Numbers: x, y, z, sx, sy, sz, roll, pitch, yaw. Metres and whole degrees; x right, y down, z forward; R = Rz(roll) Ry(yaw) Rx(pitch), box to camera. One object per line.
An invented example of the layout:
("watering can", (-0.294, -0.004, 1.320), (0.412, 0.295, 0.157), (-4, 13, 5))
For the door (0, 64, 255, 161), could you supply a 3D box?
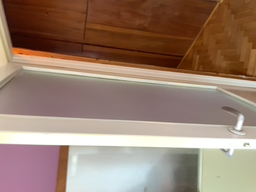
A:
("door", (0.370, 0.060, 1.040), (0.780, 2.040, 0.080), (-127, 44, -68))
